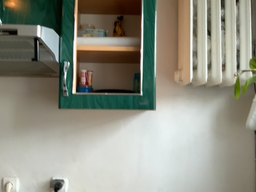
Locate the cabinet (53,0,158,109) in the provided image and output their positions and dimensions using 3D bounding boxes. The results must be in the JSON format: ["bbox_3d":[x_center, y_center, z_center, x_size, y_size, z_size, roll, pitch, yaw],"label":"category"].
[{"bbox_3d":[-0.080,-0.380,1.000,0.400,0.870,0.310,2,-3,-1],"label":"cabinet"}]
